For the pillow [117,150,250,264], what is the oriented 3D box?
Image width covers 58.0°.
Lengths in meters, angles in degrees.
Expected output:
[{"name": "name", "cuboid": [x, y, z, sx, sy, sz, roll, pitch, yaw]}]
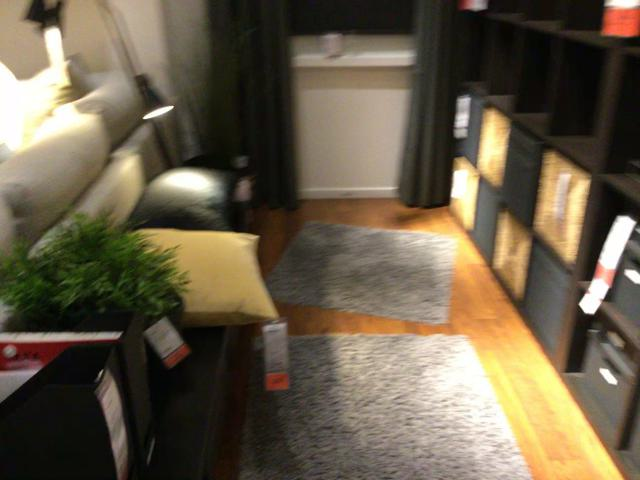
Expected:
[{"name": "pillow", "cuboid": [-0.440, -0.140, 2.040, 0.360, 0.160, 0.670, 1, 25, -5]}]

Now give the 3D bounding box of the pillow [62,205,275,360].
[{"name": "pillow", "cuboid": [-0.360, 0.090, 1.580, 0.470, 0.180, 0.540, 1, 25, -5]}]

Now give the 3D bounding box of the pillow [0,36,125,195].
[{"name": "pillow", "cuboid": [-1.120, -0.540, 2.410, 0.410, 0.510, 0.630, 1, 25, -5]}]

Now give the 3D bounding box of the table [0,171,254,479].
[{"name": "table", "cuboid": [-0.430, 0.310, 1.720, 0.400, 0.510, 1.720, 1, 25, -5]}]

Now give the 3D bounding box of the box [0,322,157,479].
[{"name": "box", "cuboid": [-0.430, 0.320, 0.920, 0.280, 0.330, 0.180, 1, 25, -5]}]
